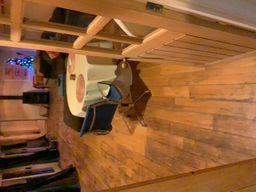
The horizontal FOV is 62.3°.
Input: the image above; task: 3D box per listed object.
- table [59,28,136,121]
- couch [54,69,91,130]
[{"bbox_3d":[-0.510,-0.270,3.140,1.060,0.750,1.090,7,95,60],"label":"table"},{"bbox_3d":[-1.260,0.030,4.640,1.280,0.430,1.150,7,95,60],"label":"couch"}]
